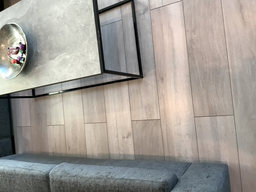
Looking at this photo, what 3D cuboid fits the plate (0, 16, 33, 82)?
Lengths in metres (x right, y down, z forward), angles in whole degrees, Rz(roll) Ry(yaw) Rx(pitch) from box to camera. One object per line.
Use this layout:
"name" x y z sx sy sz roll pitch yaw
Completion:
"plate" -0.680 -0.250 1.200 0.330 0.060 0.320 -1 90 28
